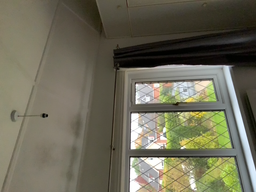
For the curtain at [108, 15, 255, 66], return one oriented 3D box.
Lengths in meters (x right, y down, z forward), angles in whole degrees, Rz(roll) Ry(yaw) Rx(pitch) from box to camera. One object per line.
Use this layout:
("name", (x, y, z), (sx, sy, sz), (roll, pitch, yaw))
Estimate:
("curtain", (0.760, -0.620, 2.370), (0.290, 1.910, 0.360), (78, -168, -57))
